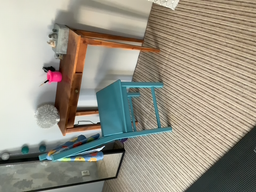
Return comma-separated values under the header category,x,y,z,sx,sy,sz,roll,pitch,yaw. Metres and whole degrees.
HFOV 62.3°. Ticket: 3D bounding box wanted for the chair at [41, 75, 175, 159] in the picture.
category,x,y,z,sx,sy,sz,roll,pitch,yaw
chair,-0.150,0.160,1.670,0.460,0.880,0.490,-25,71,53
